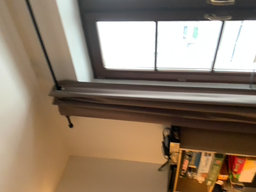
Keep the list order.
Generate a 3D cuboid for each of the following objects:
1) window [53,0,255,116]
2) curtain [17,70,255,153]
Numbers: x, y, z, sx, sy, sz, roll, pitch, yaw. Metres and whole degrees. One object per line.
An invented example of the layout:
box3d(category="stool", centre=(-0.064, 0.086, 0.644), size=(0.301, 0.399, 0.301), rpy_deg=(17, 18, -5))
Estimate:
box3d(category="window", centre=(0.370, -0.580, 1.160), size=(0.310, 1.540, 1.560), rpy_deg=(-76, -14, -47))
box3d(category="curtain", centre=(0.710, 0.130, 1.360), size=(0.230, 2.830, 0.420), rpy_deg=(-75, -14, -50))
